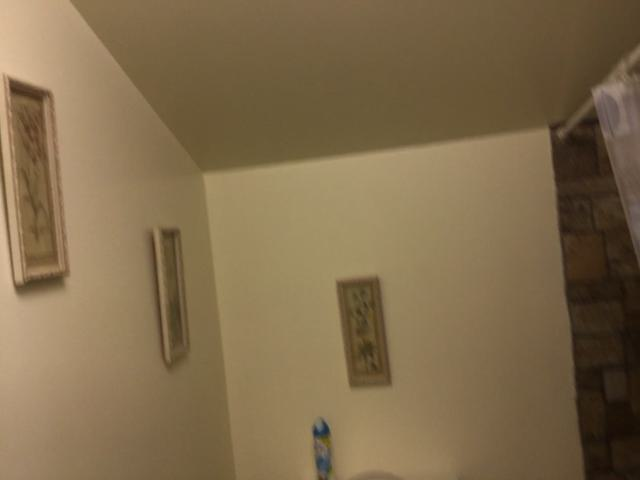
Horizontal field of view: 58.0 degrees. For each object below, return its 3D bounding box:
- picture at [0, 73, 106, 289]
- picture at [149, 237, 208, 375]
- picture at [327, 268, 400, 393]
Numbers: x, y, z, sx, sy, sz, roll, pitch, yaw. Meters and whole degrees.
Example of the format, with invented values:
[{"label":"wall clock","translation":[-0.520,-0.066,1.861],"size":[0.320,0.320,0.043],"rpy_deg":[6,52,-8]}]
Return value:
[{"label":"picture","translation":[-0.460,-0.090,0.990],"size":[0.040,0.330,0.210],"rpy_deg":[-8,-2,10]},{"label":"picture","translation":[-0.360,0.160,1.490],"size":[0.030,0.330,0.210],"rpy_deg":[-8,-2,10]},{"label":"picture","translation":[0.130,0.270,1.730],"size":[0.170,0.350,0.040],"rpy_deg":[-8,-2,10]}]
